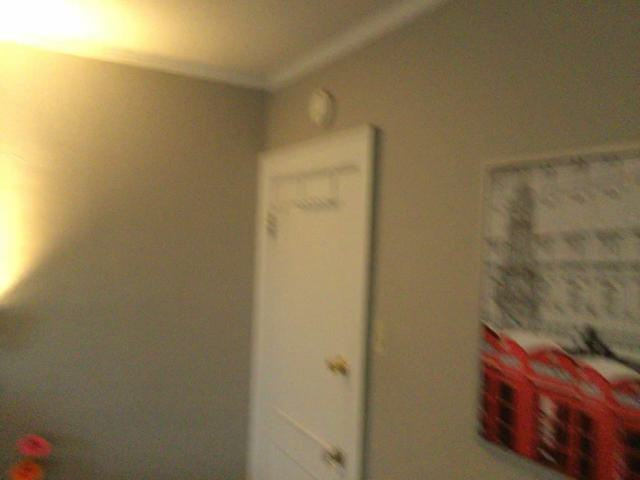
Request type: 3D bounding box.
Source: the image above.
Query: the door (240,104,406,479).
[{"bbox_3d":[-0.060,0.600,2.510,0.130,2.160,1.050,5,-3,-28],"label":"door"}]
